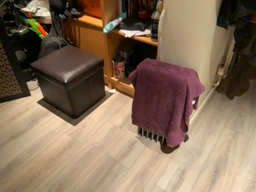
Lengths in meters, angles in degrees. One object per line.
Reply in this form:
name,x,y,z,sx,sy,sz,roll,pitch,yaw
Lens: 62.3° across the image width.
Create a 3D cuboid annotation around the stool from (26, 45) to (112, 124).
stool,-0.470,-0.120,1.810,0.460,0.370,0.450,22,46,24
